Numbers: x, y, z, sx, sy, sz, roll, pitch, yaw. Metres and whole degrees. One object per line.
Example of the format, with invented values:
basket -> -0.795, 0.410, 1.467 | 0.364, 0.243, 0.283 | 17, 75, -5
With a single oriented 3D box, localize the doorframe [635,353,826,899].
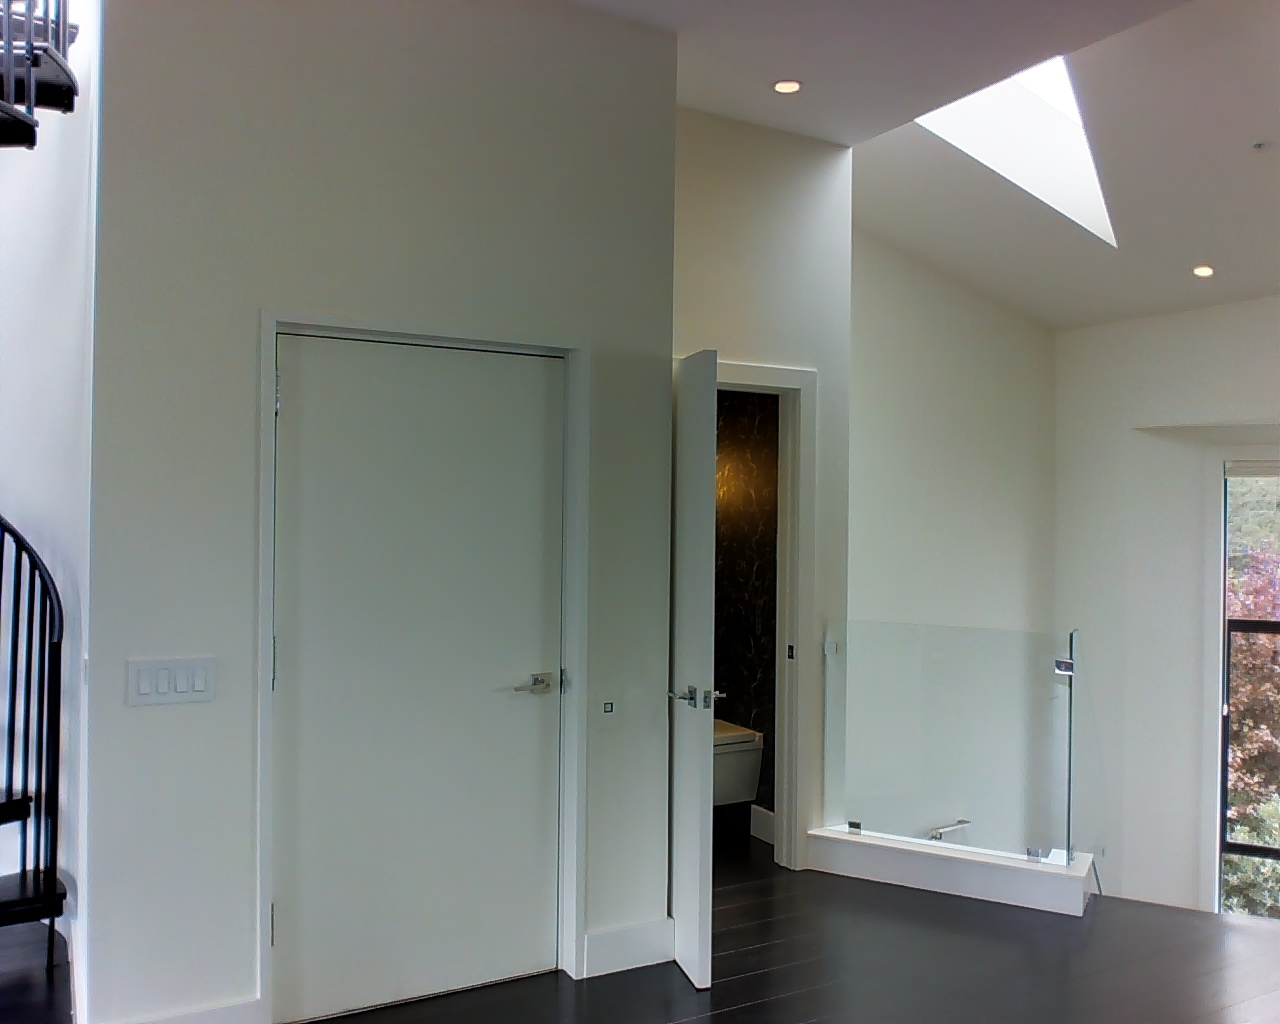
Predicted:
doorframe -> 0.390, 0.450, 4.430 | 0.870, 2.130, 0.070 | 1, 0, -29
